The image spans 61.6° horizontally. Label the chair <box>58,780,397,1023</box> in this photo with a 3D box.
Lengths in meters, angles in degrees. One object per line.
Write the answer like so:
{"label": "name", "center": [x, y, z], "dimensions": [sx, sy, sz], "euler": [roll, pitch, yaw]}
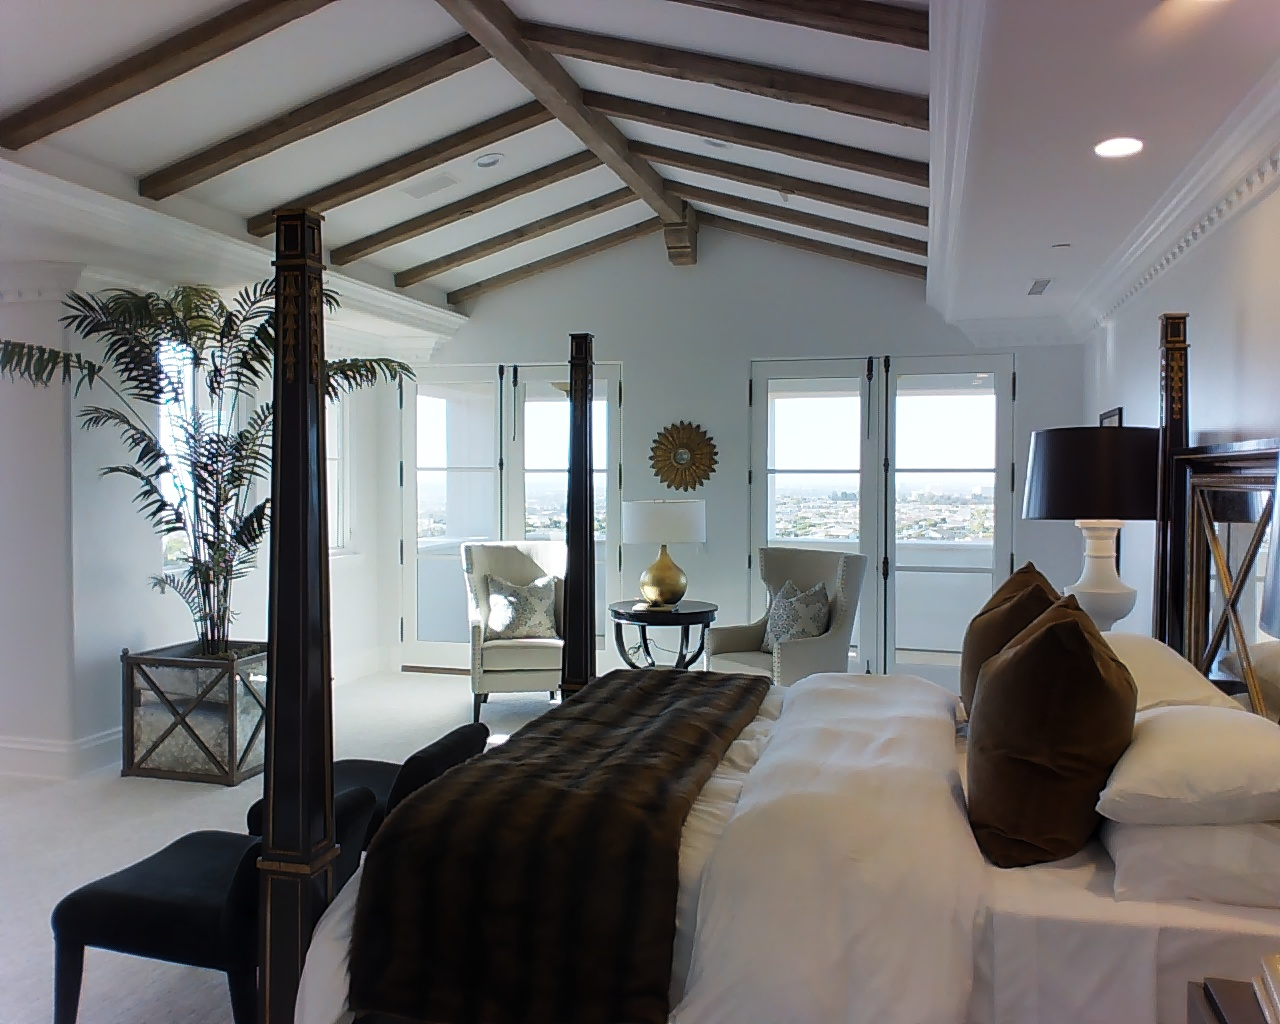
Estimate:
{"label": "chair", "center": [-1.180, 1.200, 3.160], "dimensions": [0.690, 0.610, 0.630], "euler": [0, 1, 15]}
